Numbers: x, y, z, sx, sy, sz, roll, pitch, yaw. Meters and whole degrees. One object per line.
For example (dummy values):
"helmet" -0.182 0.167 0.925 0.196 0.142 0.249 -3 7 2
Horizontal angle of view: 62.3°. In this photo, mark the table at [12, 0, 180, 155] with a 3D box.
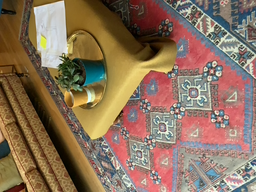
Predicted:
"table" -0.370 -0.370 1.470 1.250 0.300 0.810 53 131 22
